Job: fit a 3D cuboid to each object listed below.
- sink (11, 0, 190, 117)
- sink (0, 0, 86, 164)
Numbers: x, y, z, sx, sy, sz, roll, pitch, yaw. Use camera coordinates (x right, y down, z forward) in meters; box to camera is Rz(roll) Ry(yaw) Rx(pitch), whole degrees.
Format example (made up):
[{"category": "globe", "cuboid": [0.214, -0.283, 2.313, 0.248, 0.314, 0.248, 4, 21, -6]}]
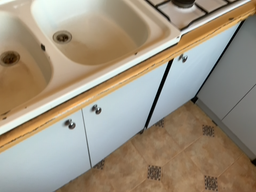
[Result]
[{"category": "sink", "cuboid": [-0.130, -0.270, 0.830, 0.420, 0.200, 0.550, -30, 65, -24]}, {"category": "sink", "cuboid": [-0.460, -0.080, 0.660, 0.410, 0.170, 0.550, -30, 65, -24]}]
